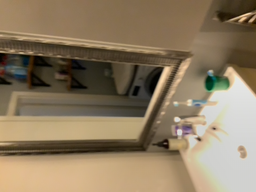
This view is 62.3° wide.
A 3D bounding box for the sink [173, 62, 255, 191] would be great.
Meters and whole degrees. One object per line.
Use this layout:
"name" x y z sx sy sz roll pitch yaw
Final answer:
"sink" 0.470 0.240 1.040 0.480 0.120 0.630 -105 24 -45
